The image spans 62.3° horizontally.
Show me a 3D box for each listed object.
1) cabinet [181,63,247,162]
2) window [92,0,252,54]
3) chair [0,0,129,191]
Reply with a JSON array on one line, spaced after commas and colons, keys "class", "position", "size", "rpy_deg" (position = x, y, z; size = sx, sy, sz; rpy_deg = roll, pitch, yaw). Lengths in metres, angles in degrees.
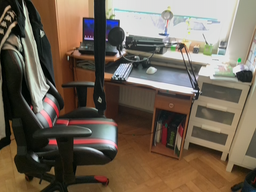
[{"class": "cabinet", "position": [0.820, 0.150, 2.080], "size": [0.380, 0.810, 0.410], "rpy_deg": [14, 27, 19]}, {"class": "window", "position": [0.410, -1.290, 2.150], "size": [1.640, 1.470, 0.220], "rpy_deg": [12, 27, 17]}, {"class": "chair", "position": [-0.380, 0.100, 1.330], "size": [0.620, 1.380, 0.700], "rpy_deg": [1, 26, -6]}]
